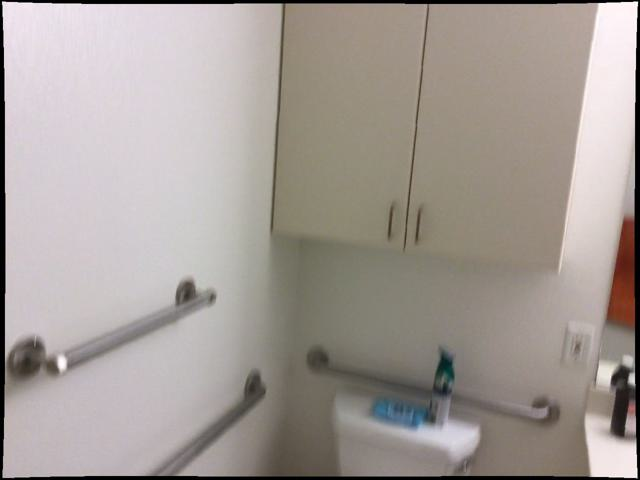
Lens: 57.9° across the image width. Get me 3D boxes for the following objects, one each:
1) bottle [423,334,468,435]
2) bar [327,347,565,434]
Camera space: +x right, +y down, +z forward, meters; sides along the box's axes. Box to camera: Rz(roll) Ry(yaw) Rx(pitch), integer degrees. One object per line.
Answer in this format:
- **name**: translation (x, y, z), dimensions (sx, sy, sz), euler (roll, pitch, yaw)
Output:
- **bottle**: translation (0.390, 0.440, 1.790), dimensions (0.080, 0.230, 0.200), euler (8, 14, 21)
- **bar**: translation (0.380, 0.470, 1.850), dimensions (0.739, 0.090, 0.070), euler (8, 14, 21)
